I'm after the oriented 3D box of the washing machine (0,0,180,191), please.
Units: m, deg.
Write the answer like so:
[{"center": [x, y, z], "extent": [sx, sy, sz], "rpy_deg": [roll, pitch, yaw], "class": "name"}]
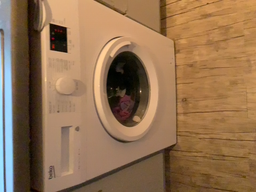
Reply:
[{"center": [-0.230, -0.010, 1.020], "extent": [0.620, 0.910, 0.620], "rpy_deg": [-2, 88, 36], "class": "washing machine"}]
